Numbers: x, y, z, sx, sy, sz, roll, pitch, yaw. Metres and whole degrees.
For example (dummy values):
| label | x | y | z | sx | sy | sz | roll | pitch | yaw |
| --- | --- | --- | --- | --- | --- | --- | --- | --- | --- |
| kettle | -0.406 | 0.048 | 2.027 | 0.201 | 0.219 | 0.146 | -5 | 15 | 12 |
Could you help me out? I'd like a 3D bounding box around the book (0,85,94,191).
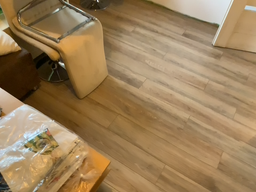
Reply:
| label | x | y | z | sx | sy | sz | roll | pitch | yaw |
| --- | --- | --- | --- | --- | --- | --- | --- | --- | --- |
| book | -0.460 | 0.210 | 0.980 | 0.420 | 0.120 | 0.420 | 28 | 55 | 17 |
